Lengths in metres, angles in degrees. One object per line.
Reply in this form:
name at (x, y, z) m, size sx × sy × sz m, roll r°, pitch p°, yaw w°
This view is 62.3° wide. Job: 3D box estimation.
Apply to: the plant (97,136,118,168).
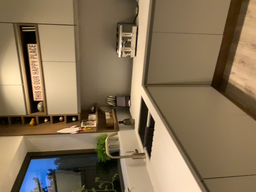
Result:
plant at (-0.230, 0.610, 2.330) m, size 0.200 × 0.210 × 0.270 m, roll -110°, pitch 22°, yaw -61°
